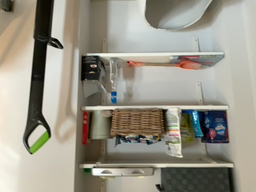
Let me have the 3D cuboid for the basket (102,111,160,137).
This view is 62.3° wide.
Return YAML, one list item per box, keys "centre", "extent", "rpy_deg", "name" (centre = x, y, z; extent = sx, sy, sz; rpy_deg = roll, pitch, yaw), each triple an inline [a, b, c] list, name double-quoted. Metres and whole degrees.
- centre: [0.020, 0.160, 1.180]
  extent: [0.290, 0.130, 0.220]
  rpy_deg: [-1, 170, 3]
  name: "basket"
